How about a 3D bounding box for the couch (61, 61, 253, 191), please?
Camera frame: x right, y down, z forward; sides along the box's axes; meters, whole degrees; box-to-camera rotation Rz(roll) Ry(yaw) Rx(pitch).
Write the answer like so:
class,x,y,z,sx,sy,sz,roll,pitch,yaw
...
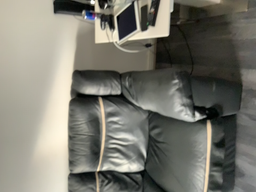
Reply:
class,x,y,z,sx,sy,sz,roll,pitch,yaw
couch,0.100,0.930,1.730,1.010,0.950,2.360,17,108,56
